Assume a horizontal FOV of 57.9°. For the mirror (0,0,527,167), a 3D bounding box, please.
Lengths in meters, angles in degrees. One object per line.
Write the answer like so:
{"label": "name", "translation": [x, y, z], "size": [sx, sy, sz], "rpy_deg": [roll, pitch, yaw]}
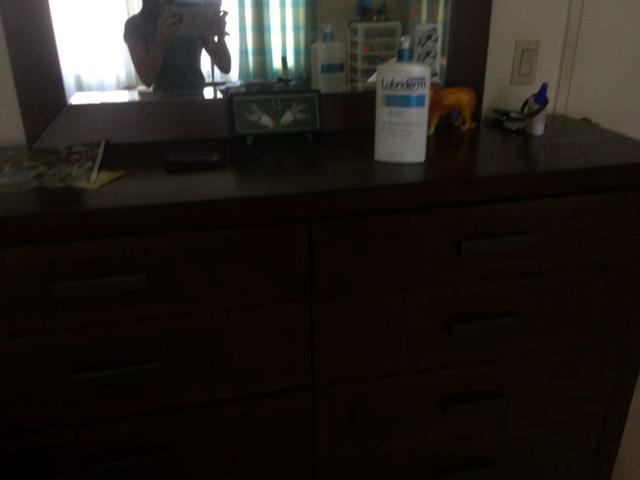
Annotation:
{"label": "mirror", "translation": [-0.130, -0.650, 1.140], "size": [1.100, 0.890, 0.210], "rpy_deg": [-7, 22, -11]}

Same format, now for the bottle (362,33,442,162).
{"label": "bottle", "translation": [0.150, -0.270, 1.090], "size": [0.120, 0.220, 0.090], "rpy_deg": [-7, 22, -11]}
